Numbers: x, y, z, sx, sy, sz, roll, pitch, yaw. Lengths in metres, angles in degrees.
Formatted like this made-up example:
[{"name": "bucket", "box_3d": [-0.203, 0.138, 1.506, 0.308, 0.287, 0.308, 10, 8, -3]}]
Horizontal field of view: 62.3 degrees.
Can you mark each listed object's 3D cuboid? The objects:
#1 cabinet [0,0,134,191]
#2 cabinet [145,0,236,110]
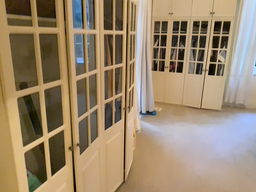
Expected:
[{"name": "cabinet", "box_3d": [-0.490, -0.090, 1.620, 0.550, 2.140, 1.530, 7, 18, 20]}, {"name": "cabinet", "box_3d": [1.210, -0.940, 4.400, 1.540, 2.190, 0.570, 7, 18, 19]}]
